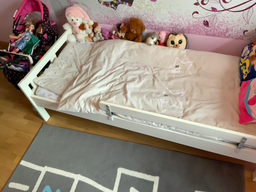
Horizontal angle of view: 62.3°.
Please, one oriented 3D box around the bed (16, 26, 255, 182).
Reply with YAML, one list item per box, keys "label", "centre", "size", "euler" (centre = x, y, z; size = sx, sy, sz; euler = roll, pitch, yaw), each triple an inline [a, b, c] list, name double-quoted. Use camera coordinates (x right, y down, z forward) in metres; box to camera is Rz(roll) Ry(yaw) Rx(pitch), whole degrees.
- label: "bed"
  centre: [0.140, -0.050, 1.670]
  size: [1.680, 0.410, 0.800]
  euler: [13, 54, 16]
